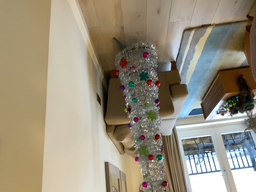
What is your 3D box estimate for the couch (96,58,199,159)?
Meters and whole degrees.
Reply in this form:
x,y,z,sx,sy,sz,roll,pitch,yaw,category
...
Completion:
x,y,z,sx,sy,sz,roll,pitch,yaw,category
0.230,0.350,3.080,0.980,0.780,1.840,-7,157,1,couch
